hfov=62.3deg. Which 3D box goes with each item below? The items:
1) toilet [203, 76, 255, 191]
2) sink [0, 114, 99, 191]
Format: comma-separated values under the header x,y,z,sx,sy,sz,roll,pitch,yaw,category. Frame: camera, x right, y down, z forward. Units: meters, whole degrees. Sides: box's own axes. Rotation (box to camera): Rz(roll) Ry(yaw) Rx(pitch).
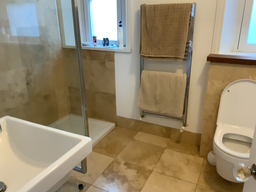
x,y,z,sx,sy,sz,roll,pitch,yaw,category
0.890,0.330,1.730,0.370,0.830,0.560,9,23,24,toilet
-0.440,0.280,0.780,0.500,0.190,0.430,9,23,24,sink
